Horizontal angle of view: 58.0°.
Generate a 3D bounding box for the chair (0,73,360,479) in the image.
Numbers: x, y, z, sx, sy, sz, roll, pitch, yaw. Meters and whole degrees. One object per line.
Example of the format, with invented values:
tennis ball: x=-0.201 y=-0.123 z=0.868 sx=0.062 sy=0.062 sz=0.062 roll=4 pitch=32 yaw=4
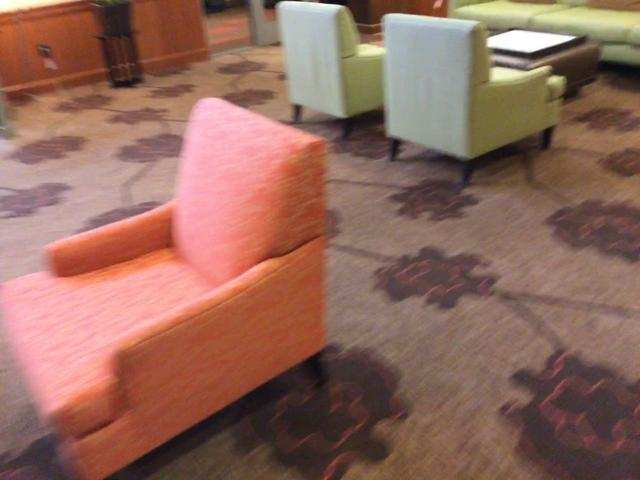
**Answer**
chair: x=-0.480 y=0.130 z=1.850 sx=0.920 sy=0.910 sz=0.770 roll=-26 pitch=42 yaw=-27
